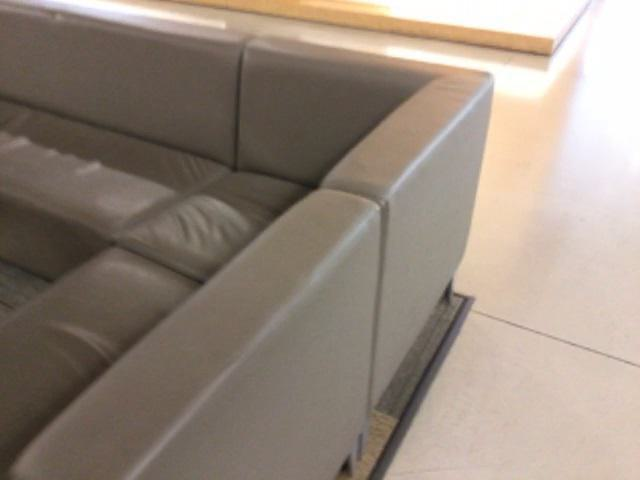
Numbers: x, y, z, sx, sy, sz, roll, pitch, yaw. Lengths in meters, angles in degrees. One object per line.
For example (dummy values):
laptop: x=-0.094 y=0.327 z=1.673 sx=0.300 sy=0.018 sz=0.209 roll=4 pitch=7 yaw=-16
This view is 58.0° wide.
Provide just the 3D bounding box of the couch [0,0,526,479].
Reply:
couch: x=-0.790 y=-0.120 z=1.640 sx=2.210 sy=0.790 sz=1.360 roll=20 pitch=39 yaw=23
